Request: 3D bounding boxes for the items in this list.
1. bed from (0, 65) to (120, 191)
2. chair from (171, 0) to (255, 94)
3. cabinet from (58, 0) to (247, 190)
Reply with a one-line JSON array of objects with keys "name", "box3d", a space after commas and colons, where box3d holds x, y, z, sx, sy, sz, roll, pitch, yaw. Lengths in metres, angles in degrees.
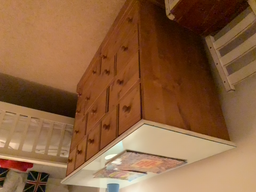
[{"name": "bed", "box3d": [-1.290, 0.940, 2.390, 1.570, 1.490, 2.060, 17, 144, -23]}, {"name": "chair", "box3d": [0.460, -0.390, 1.010, 0.350, 0.610, 0.310, 19, 144, -26]}, {"name": "cabinet", "box3d": [0.020, 0.060, 1.450, 0.510, 0.900, 1.100, 19, 144, -26]}]
